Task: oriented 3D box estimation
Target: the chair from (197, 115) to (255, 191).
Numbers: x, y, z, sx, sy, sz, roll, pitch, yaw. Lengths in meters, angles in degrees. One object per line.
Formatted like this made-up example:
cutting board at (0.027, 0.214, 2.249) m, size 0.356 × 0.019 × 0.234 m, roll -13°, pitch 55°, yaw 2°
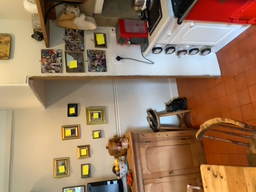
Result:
chair at (0.910, 0.350, 1.300) m, size 0.380 × 0.780 × 0.430 m, roll 133°, pitch 133°, yaw -69°

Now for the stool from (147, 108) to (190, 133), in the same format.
stool at (0.580, 0.360, 3.100) m, size 0.290 × 0.520 × 0.300 m, roll 132°, pitch 135°, yaw -69°
